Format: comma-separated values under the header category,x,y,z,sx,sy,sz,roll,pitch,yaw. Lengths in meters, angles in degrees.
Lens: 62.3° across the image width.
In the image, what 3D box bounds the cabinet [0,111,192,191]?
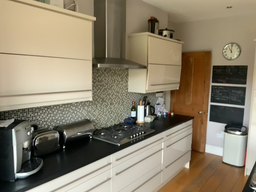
category,x,y,z,sx,sy,sz,roll,pitch,yaw
cabinet,-0.100,0.880,2.600,0.610,0.900,2.930,7,9,38

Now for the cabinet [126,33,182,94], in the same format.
category,x,y,z,sx,sy,sz,roll,pitch,yaw
cabinet,0.440,-0.480,3.290,0.340,0.800,1.040,7,9,38

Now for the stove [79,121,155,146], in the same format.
category,x,y,z,sx,sy,sz,roll,pitch,yaw
stove,-0.110,0.420,2.530,0.550,0.030,0.740,7,9,38
